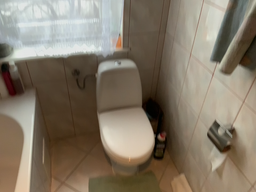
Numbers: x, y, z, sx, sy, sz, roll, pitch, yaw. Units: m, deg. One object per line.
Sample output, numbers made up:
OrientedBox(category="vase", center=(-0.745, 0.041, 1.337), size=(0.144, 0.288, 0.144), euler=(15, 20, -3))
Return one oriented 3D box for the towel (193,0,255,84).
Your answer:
OrientedBox(category="towel", center=(0.410, -0.290, 0.800), size=(0.120, 0.410, 0.250), euler=(-6, 39, -12))
